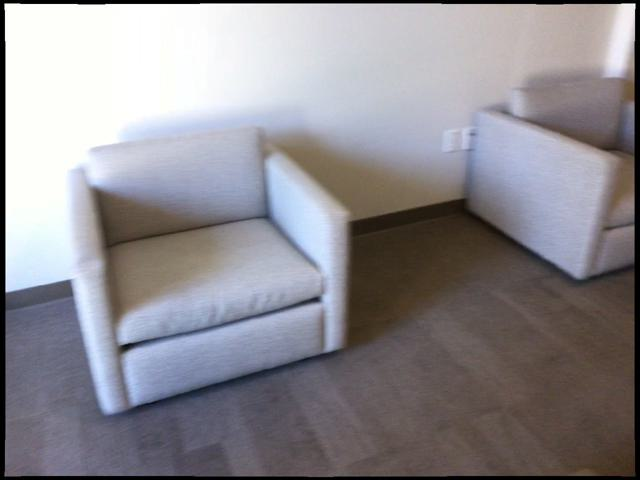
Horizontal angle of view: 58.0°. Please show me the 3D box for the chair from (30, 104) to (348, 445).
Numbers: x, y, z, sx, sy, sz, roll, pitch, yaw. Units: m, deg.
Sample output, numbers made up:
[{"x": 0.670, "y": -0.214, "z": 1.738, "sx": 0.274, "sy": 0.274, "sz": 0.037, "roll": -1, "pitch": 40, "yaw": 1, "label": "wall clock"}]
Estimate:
[{"x": -0.509, "y": 0.030, "z": 2.190, "sx": 0.899, "sy": 0.741, "sz": 0.940, "roll": -12, "pitch": 32, "yaw": -20, "label": "chair"}]

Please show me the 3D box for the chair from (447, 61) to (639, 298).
[{"x": 1.397, "y": -0.381, "z": 2.900, "sx": 1.098, "sy": 0.731, "sz": 0.910, "roll": -12, "pitch": 32, "yaw": -20, "label": "chair"}]
